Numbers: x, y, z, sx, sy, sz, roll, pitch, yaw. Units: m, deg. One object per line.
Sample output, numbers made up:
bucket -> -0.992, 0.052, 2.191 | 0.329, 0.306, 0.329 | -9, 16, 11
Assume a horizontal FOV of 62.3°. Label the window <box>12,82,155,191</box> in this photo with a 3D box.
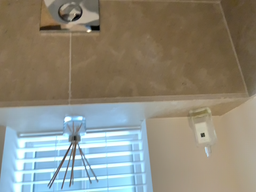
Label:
window -> -0.160, 0.540, 0.840 | 0.540, 1.210, 0.160 | -2, 160, -7
